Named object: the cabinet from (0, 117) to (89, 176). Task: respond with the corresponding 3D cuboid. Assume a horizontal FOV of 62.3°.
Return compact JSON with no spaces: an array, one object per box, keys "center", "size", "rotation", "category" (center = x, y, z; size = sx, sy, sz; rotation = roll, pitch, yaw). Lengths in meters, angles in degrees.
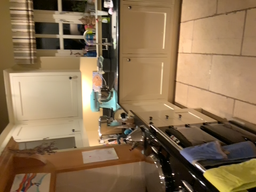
[{"center":[-0.970,0.540,2.540],"size":[0.800,0.910,0.270],"rotation":[-140,50,-68],"category":"cabinet"}]
